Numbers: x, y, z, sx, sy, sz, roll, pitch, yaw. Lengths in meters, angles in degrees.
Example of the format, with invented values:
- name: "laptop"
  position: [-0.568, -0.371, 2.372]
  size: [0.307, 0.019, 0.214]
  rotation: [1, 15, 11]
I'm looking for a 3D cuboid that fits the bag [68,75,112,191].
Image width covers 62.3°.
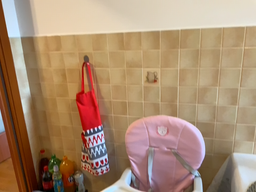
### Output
- name: "bag"
  position: [-0.240, 0.270, 1.410]
  size: [0.190, 0.800, 0.110]
  rotation: [5, 19, 23]
